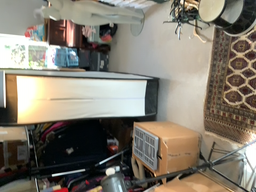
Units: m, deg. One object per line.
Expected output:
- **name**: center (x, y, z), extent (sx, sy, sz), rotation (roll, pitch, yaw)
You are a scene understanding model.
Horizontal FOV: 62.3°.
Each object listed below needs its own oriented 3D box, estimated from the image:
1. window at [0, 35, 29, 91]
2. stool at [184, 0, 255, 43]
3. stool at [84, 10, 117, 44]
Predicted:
- **window**: center (-2.500, -0.660, 4.330), extent (0.410, 0.840, 1.070), rotation (16, 104, 59)
- **stool**: center (0.830, -0.710, 1.910), extent (0.410, 0.390, 0.380), rotation (31, 117, 56)
- **stool**: center (-0.550, -1.340, 4.180), extent (0.380, 0.510, 0.540), rotation (21, 109, 58)
